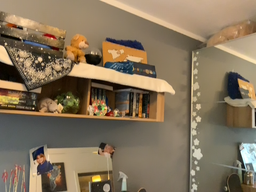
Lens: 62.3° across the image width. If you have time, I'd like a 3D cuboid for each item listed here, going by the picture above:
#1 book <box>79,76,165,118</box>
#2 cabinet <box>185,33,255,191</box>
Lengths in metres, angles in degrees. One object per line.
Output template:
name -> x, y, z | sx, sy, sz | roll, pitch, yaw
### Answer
book -> -0.030, 0.030, 1.630 | 0.590, 0.230, 0.280 | 8, -8, -35
cabinet -> 1.330, 0.650, 1.820 | 0.640, 2.340, 1.530 | 8, -8, -36
